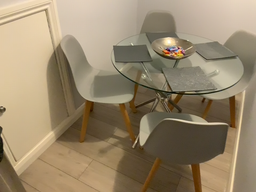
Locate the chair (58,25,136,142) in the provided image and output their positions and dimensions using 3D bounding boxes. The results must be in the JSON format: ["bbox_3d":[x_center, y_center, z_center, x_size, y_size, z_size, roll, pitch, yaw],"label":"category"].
[{"bbox_3d":[-0.190,-0.080,1.700,0.470,0.810,0.450,2,37,0],"label":"chair"}]

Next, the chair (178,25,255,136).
[{"bbox_3d":[0.800,-0.130,1.830,0.430,0.780,0.420,-13,40,-18],"label":"chair"}]

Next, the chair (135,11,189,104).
[{"bbox_3d":[0.320,-0.390,2.160,0.400,0.770,0.470,6,37,6],"label":"chair"}]

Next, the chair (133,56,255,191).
[{"bbox_3d":[0.290,0.260,1.270,0.460,0.810,0.520,5,37,4],"label":"chair"}]
